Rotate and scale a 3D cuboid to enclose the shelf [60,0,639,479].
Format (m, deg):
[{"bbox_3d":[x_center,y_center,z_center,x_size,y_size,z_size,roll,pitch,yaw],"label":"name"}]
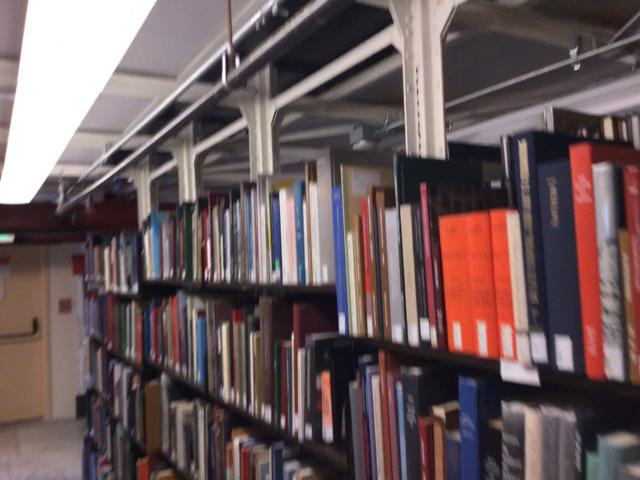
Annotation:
[{"bbox_3d":[-0.220,0.730,2.040,0.560,1.900,5.340,3,-4,-31],"label":"shelf"}]
